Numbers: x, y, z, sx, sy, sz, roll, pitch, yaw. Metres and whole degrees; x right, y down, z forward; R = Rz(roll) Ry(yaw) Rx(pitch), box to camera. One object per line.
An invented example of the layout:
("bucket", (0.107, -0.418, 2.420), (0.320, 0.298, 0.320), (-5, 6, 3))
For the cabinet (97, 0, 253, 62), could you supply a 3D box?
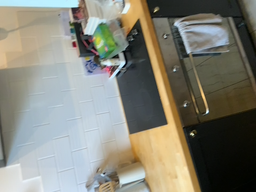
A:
("cabinet", (0.310, -0.590, 1.590), (0.610, 0.890, 0.380), (-35, 66, 63))
